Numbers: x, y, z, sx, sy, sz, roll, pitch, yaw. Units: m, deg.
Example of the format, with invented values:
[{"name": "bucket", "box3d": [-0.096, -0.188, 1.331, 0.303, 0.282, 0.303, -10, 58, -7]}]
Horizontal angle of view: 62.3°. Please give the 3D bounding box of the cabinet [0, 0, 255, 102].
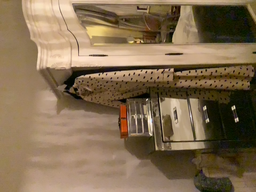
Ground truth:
[{"name": "cabinet", "box3d": [0.120, -1.280, 2.030, 0.700, 2.270, 2.540, 101, 166, -68]}]
